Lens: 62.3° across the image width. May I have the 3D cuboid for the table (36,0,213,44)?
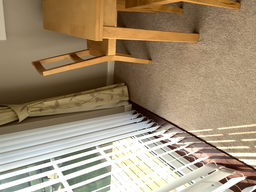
[{"bbox_3d":[-0.080,-0.870,1.350,0.990,0.770,0.960,26,118,51],"label":"table"}]

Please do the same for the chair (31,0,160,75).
[{"bbox_3d":[-0.220,-0.450,1.580,0.370,0.840,0.470,26,118,51],"label":"chair"}]
